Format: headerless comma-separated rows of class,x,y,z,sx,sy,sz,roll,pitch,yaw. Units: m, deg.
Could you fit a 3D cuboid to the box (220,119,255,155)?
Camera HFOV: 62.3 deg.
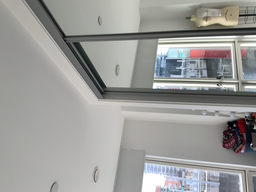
box,1.400,0.520,2.680,0.230,0.380,0.370,66,-151,-60
